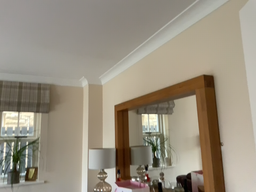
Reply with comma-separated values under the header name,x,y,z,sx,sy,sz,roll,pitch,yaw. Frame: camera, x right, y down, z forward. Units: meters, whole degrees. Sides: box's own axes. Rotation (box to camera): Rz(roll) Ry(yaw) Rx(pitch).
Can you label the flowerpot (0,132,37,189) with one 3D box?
name,x,y,z,sx,sy,sz,roll,pitch,yaw
flowerpot,-1.490,0.840,2.860,0.450,0.670,0.370,2,-10,-21
